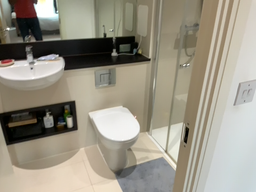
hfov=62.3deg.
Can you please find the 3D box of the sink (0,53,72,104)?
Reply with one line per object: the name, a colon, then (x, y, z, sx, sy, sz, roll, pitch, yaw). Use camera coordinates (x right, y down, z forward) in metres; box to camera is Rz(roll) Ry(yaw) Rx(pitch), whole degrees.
sink: (-0.780, -0.170, 1.720, 0.530, 0.200, 0.500, -9, 29, -22)
